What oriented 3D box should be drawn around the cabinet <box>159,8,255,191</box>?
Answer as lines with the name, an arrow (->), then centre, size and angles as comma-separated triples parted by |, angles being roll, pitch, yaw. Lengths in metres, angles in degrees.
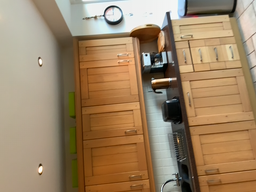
cabinet -> 1.030, 0.290, 2.540 | 0.560, 0.890, 2.600 | 94, 170, -77
